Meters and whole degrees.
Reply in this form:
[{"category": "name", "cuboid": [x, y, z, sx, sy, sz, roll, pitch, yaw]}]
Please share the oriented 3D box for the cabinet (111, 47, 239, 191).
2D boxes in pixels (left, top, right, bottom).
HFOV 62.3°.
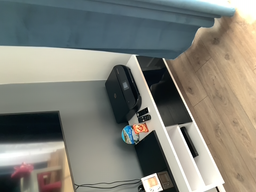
[{"category": "cabinet", "cuboid": [0.340, 0.390, 1.750, 0.500, 0.400, 1.630, -55, 47, 49]}]
